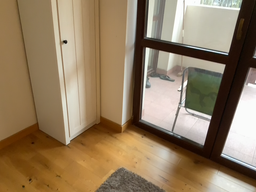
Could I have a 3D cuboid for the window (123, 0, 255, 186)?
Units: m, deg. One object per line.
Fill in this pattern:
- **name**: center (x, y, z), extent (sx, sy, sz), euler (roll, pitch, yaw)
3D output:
- **window**: center (0.690, -0.500, 1.580), extent (1.480, 2.360, 0.180), euler (20, 32, 27)
